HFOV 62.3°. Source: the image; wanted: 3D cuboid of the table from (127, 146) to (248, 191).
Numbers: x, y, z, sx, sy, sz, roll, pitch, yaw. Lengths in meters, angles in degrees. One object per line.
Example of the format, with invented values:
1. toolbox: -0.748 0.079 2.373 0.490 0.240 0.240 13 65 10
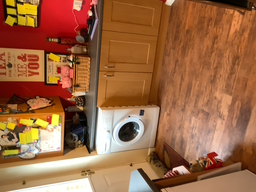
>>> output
1. table: 0.480 0.680 1.700 0.290 0.920 0.350 -145 57 -60
